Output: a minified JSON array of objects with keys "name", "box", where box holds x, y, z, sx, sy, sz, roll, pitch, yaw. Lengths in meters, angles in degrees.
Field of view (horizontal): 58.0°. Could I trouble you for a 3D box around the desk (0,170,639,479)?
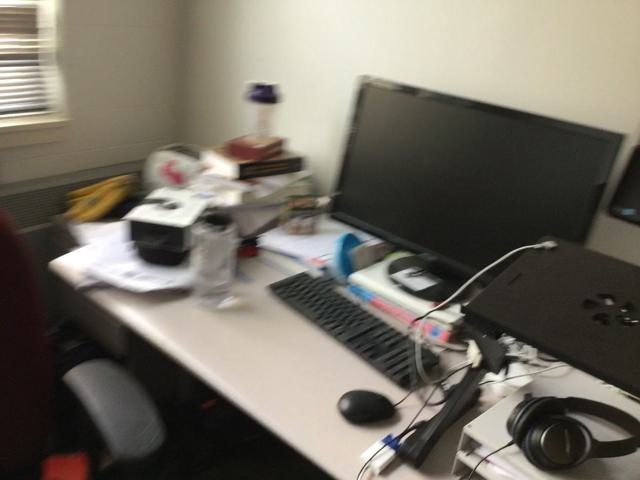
[{"name":"desk","box":[0.000,0.520,1.460,1.900,0.850,0.790,23,26,35]}]
